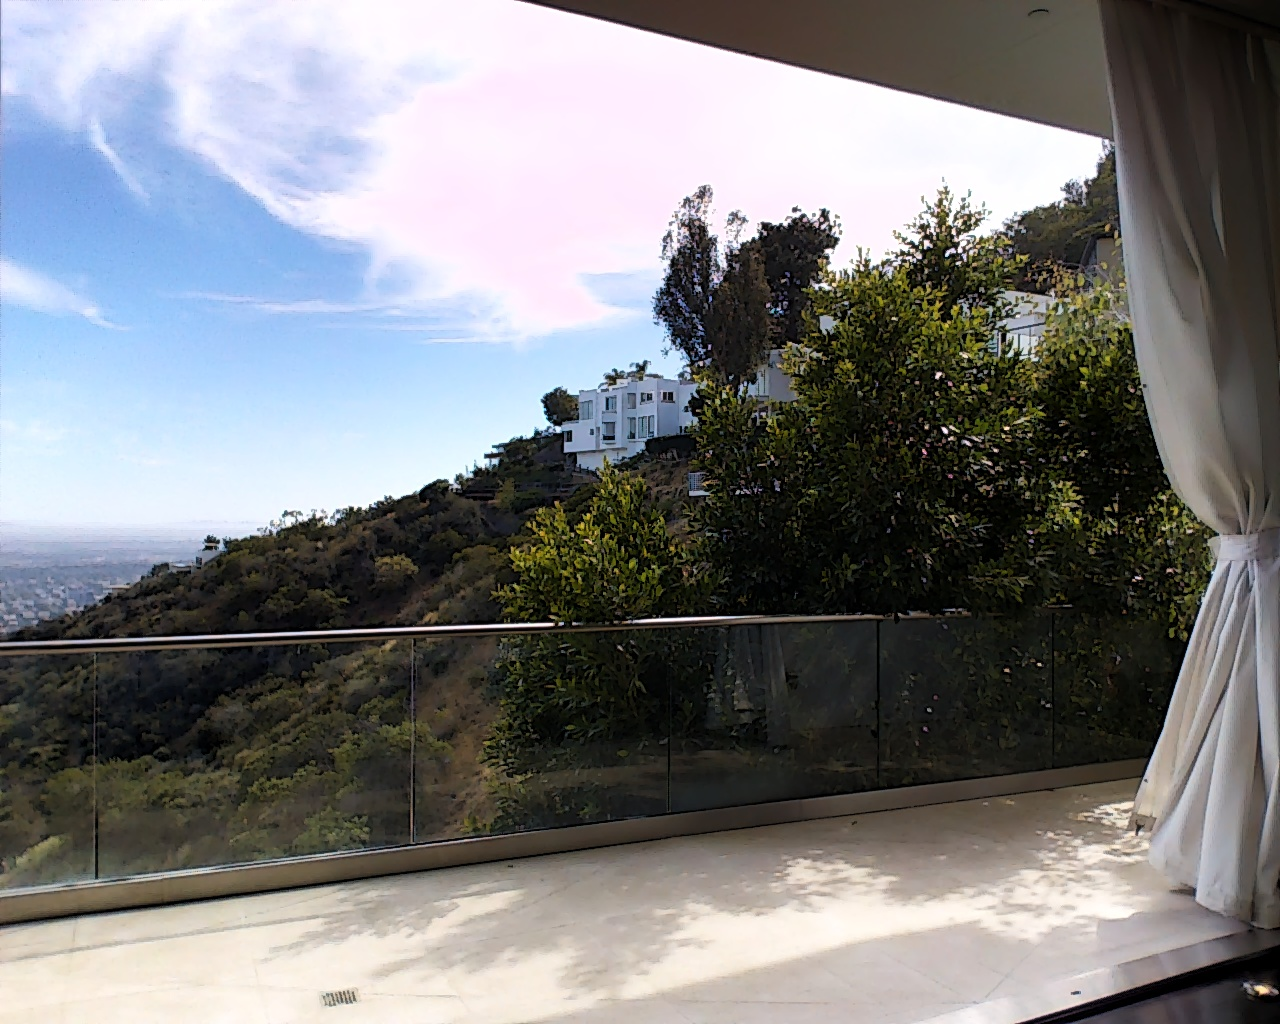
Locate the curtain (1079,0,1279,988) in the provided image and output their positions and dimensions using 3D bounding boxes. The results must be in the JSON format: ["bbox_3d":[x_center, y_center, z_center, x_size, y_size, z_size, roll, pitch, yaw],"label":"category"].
[{"bbox_3d":[2.180,-0.160,3.960,1.010,3.471,0.440,1,0,-23],"label":"curtain"}]
